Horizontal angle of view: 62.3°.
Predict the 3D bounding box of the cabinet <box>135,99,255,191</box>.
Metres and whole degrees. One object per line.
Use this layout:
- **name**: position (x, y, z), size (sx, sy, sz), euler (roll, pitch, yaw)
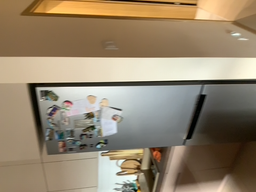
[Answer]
- **cabinet**: position (0.640, 0.760, 2.470), size (0.580, 0.890, 1.320), euler (-109, 21, -55)
